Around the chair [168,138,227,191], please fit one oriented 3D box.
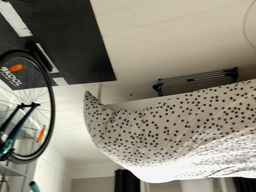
[{"bbox_3d":[1.000,1.140,3.210,0.660,0.750,0.670,-7,149,10],"label":"chair"}]
